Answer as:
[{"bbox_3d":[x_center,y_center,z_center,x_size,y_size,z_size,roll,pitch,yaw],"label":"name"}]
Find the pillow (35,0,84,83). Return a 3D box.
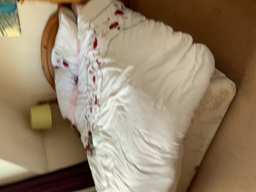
[{"bbox_3d":[-0.730,-0.620,2.420,0.530,0.210,0.750,-74,-9,-46],"label":"pillow"}]

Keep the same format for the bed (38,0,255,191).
[{"bbox_3d":[-0.270,0.070,2.200,2.210,0.950,1.610,-125,37,-47],"label":"bed"}]

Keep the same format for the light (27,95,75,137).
[{"bbox_3d":[-1.130,0.270,3.110,0.450,0.590,0.330,-127,38,-49],"label":"light"}]
